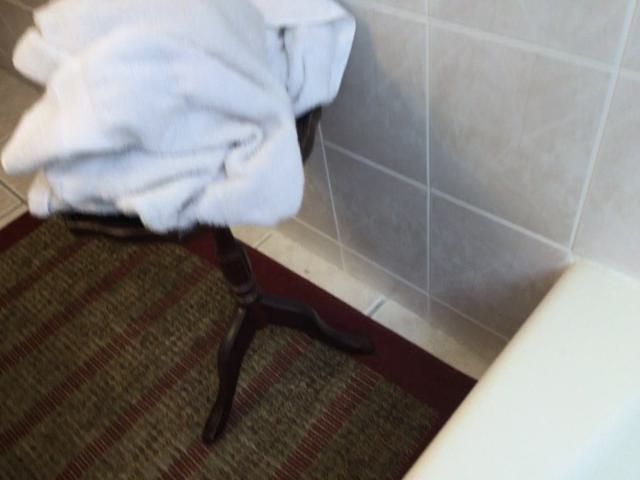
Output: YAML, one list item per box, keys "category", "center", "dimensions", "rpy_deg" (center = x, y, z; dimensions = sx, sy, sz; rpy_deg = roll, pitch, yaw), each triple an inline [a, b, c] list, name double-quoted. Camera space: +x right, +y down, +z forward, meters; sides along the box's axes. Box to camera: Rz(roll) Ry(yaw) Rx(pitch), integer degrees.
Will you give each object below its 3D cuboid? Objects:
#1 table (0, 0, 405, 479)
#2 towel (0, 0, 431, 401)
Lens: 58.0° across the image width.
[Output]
- category: "table"
  center: [-0.130, 0.030, 0.830]
  dimensions: [0.340, 0.550, 0.350]
  rpy_deg: [30, 60, 32]
- category: "towel"
  center: [-0.150, -0.150, 0.650]
  dimensions: [0.380, 0.330, 0.400]
  rpy_deg: [30, 60, 32]
